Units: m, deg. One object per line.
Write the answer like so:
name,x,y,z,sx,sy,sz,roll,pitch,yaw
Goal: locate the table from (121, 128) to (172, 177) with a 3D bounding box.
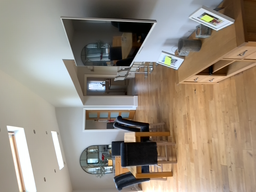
table,0.340,1.300,5.230,1.940,0.770,0.940,132,139,-76
